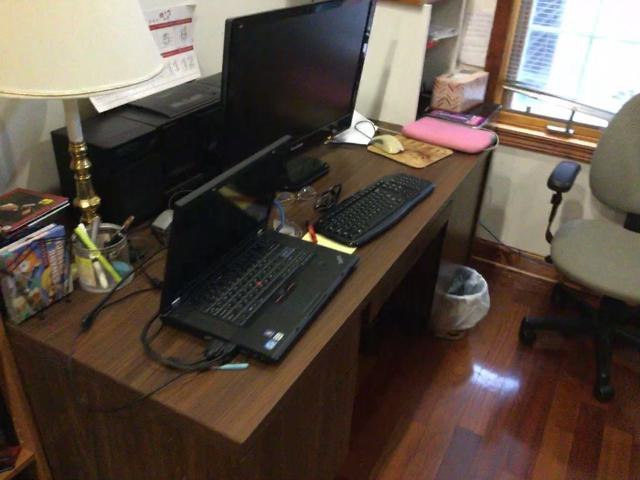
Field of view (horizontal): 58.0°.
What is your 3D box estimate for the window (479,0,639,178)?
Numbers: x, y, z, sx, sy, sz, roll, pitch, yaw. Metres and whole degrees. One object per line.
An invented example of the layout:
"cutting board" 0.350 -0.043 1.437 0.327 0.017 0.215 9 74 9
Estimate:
"window" 0.970 -0.570 2.120 0.650 0.570 0.160 15 32 24
